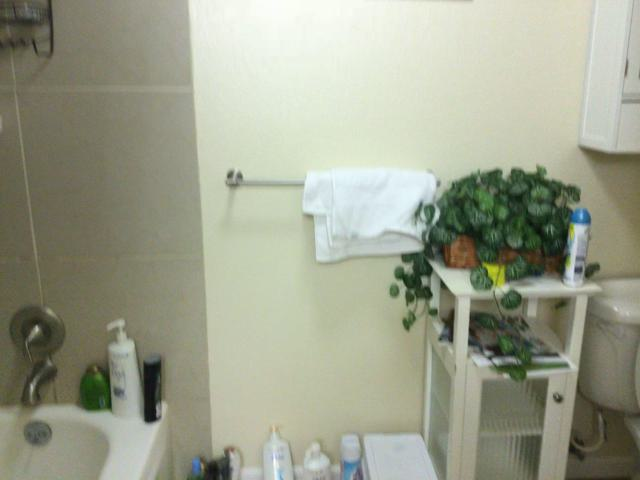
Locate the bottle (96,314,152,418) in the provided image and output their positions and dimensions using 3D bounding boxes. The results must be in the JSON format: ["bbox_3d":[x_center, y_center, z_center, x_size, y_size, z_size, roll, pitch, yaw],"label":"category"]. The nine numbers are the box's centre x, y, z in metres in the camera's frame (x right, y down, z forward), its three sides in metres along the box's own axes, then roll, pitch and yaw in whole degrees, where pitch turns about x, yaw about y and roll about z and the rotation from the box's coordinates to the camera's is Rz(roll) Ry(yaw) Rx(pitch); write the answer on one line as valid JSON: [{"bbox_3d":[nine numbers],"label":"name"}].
[{"bbox_3d":[-0.620,0.400,1.840,0.120,0.310,0.100,-1,13,-2],"label":"bottle"}]

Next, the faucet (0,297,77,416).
[{"bbox_3d":[-0.890,0.360,1.800,0.180,0.330,0.140,-1,13,-2],"label":"faucet"}]

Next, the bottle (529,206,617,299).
[{"bbox_3d":[0.680,0.030,1.570,0.150,0.220,0.150,-1,13,-2],"label":"bottle"}]

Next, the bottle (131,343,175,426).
[{"bbox_3d":[-0.530,0.460,1.850,0.090,0.210,0.150,-1,13,-2],"label":"bottle"}]
